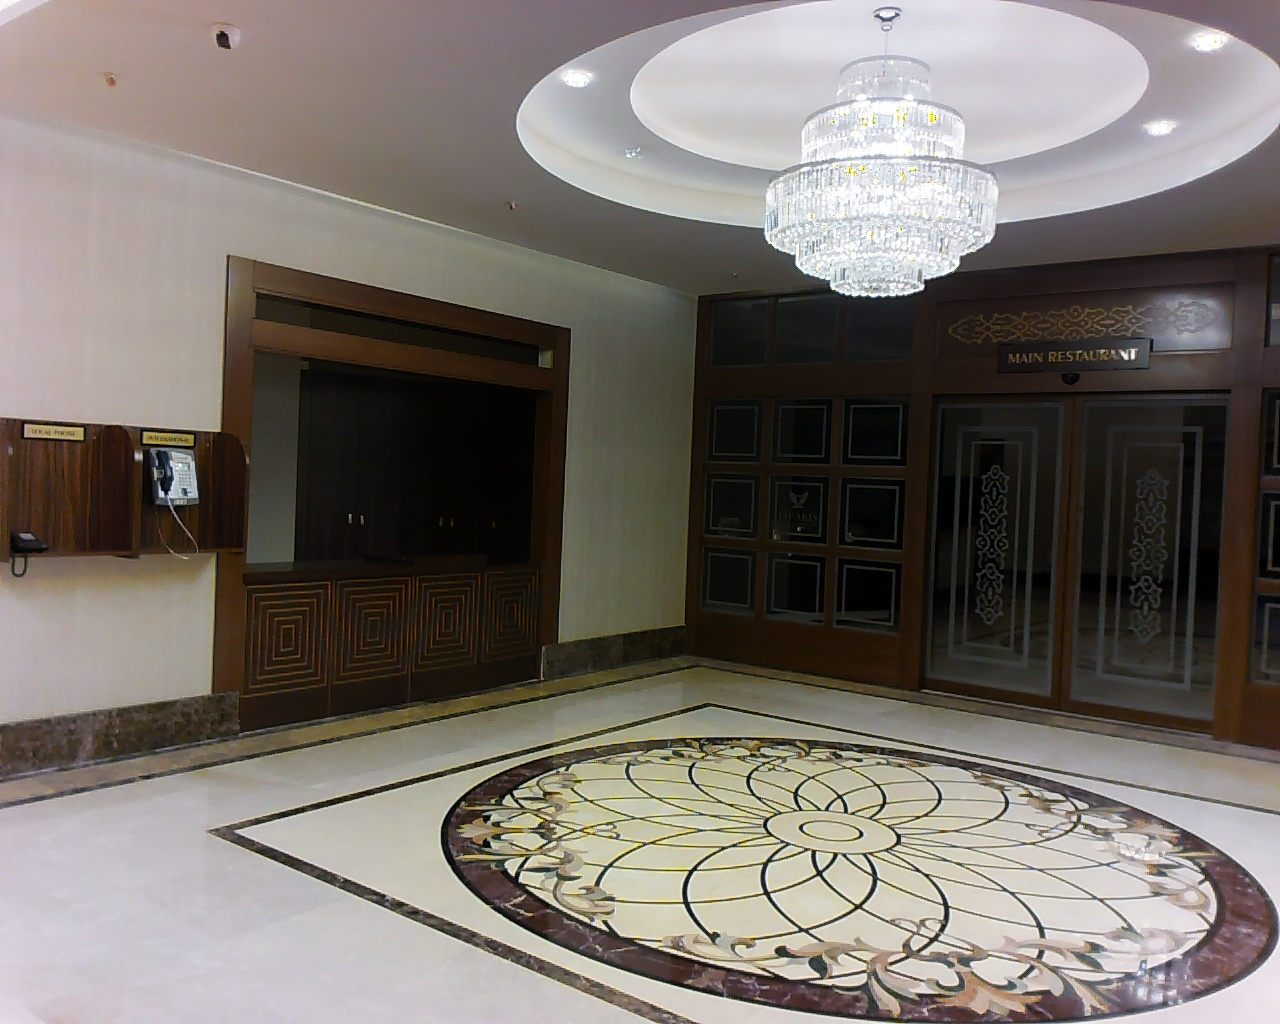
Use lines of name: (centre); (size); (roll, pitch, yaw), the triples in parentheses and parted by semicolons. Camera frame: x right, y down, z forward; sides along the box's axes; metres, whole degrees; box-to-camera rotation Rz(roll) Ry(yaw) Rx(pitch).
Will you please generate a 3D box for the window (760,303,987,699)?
window: (1.819, -0.110, 8.620); (1.770, 2.951, 0.190); (3, 2, 38)
